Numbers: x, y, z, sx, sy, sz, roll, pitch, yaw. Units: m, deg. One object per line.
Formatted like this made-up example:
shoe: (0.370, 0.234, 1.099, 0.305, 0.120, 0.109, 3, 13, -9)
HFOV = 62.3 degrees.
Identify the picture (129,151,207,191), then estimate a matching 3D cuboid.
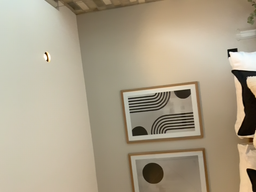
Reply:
picture: (0.390, 0.800, 2.070, 0.010, 0.710, 0.480, -32, -65, -81)

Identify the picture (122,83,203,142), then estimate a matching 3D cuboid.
picture: (0.320, 0.170, 2.050, 0.020, 0.720, 0.500, -9, -88, -82)
